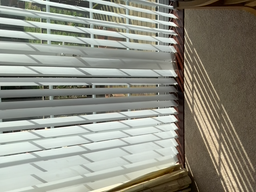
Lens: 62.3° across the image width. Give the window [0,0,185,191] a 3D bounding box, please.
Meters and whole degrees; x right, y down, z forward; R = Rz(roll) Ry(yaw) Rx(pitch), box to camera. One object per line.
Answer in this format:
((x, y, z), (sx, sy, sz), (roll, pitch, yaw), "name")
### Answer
((-0.410, -0.270, 1.580), (0.130, 2.150, 1.750), (6, 97, 59), "window")
